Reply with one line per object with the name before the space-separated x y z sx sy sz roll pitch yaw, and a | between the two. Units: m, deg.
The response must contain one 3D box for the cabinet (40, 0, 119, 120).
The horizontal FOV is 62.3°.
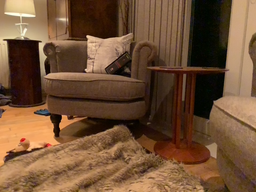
cabinet | -0.580 -0.680 2.320 0.530 1.610 1.020 -5 11 -31
